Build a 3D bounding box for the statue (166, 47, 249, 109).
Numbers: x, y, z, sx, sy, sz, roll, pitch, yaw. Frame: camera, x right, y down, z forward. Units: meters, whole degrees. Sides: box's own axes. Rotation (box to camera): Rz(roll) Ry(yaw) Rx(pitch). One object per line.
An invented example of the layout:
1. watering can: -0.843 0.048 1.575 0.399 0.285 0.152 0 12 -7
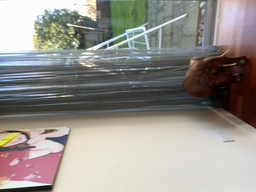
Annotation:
1. statue: 0.680 -0.140 1.960 0.570 0.460 0.330 107 160 -67
